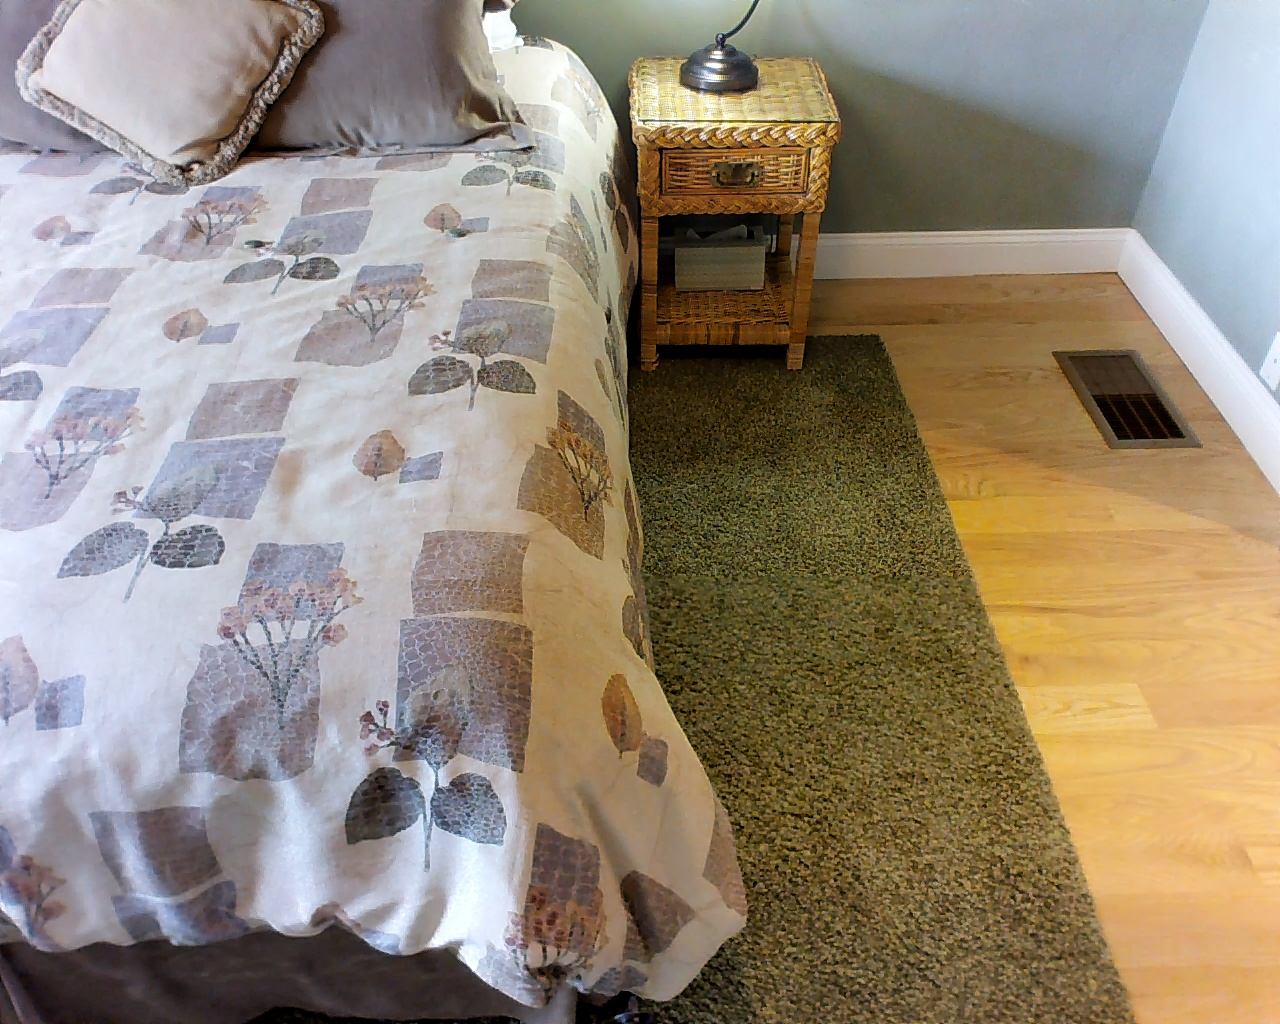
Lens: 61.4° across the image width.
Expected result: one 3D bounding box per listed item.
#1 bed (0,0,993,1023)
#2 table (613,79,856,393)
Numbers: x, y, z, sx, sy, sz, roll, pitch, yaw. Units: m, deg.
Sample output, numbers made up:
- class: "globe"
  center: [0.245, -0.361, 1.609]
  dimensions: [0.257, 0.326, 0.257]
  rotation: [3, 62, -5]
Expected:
- class: "bed"
  center: [-0.840, -0.270, 1.840]
  dimensions: [2.030, 1.100, 2.210]
  rotation: [-2, 42, -2]
- class: "table"
  center: [0.200, -0.690, 2.700]
  dimensions: [0.510, 0.590, 0.490]
  rotation: [-2, 42, -2]
